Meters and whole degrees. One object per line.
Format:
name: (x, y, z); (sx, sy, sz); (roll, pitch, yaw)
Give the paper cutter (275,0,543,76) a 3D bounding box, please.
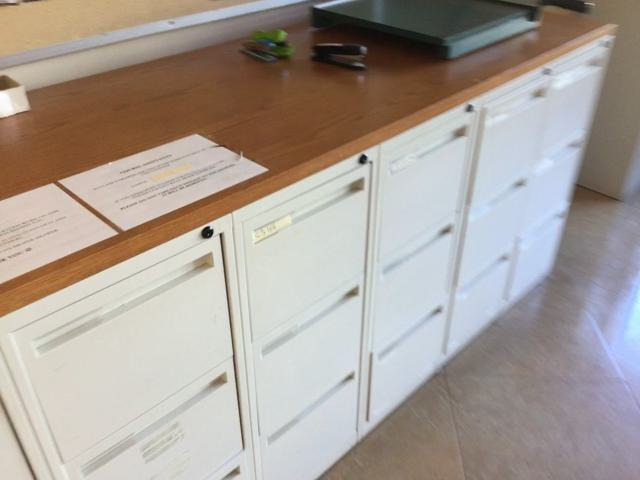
paper cutter: (0.250, -0.660, 1.710); (0.480, 0.120, 0.600); (-31, 41, -33)
